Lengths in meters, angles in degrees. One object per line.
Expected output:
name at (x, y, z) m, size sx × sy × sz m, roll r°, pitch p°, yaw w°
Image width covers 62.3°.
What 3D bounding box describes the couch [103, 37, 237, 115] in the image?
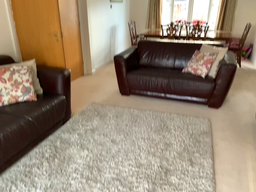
couch at (0.650, -0.430, 3.410) m, size 1.780 × 0.820 × 1.020 m, roll 8°, pitch 24°, yaw 19°
